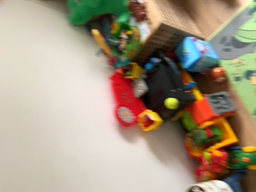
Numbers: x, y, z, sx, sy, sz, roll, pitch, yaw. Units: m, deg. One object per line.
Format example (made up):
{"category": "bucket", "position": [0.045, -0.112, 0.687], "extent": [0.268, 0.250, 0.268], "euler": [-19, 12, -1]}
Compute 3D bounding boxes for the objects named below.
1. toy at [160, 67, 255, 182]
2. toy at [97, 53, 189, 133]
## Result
{"category": "toy", "position": [0.530, 0.190, 1.500], "extent": [0.370, 0.190, 0.680], "euler": [-46, 52, 40]}
{"category": "toy", "position": [0.100, -0.010, 1.500], "extent": [0.190, 0.510, 0.490], "euler": [-46, 52, 40]}
